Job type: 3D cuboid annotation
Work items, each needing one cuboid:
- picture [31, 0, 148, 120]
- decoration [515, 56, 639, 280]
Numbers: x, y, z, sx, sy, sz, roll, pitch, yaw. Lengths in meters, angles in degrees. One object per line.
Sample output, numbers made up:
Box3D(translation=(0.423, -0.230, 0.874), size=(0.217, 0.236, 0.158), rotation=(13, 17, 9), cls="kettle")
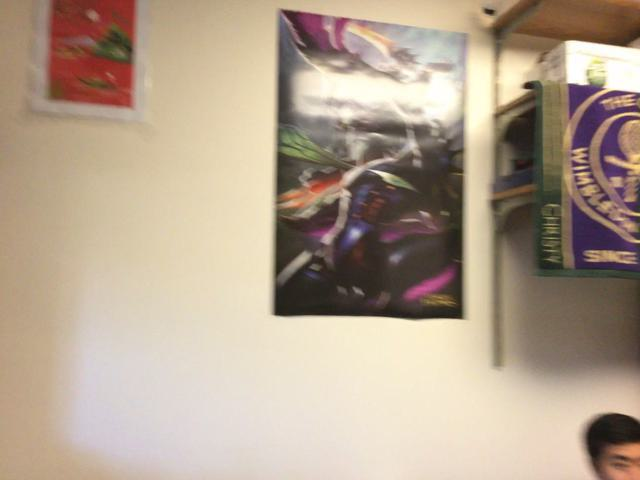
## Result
Box3D(translation=(-0.700, -0.580, 1.770), size=(0.300, 0.390, 0.050), rotation=(4, -5, -11), cls="picture")
Box3D(translation=(0.990, -0.190, 1.780), size=(0.750, 0.620, 0.160), rotation=(4, -5, -11), cls="decoration")
